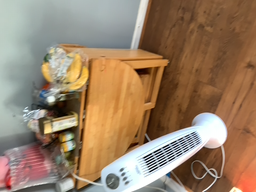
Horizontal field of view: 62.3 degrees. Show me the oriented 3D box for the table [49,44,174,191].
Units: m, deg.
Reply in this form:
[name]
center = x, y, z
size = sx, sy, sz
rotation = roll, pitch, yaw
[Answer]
[table]
center = -0.130, 0.120, 1.570
size = 0.360, 0.740, 0.900
rotation = 29, 117, 38
